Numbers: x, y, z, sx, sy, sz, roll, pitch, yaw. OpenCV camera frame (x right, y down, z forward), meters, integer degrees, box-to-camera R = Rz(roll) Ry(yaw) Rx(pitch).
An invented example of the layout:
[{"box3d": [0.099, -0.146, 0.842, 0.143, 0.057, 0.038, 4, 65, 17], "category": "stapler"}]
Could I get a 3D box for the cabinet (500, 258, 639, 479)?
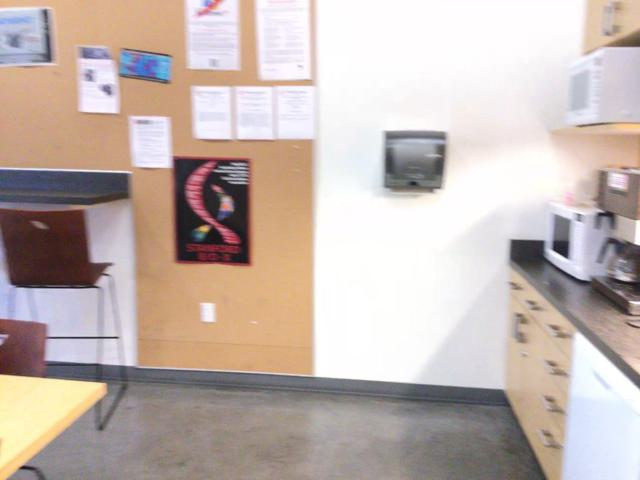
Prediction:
[{"box3d": [1.200, 0.560, 2.520, 0.620, 0.750, 1.010, 4, 9, 10], "category": "cabinet"}]
